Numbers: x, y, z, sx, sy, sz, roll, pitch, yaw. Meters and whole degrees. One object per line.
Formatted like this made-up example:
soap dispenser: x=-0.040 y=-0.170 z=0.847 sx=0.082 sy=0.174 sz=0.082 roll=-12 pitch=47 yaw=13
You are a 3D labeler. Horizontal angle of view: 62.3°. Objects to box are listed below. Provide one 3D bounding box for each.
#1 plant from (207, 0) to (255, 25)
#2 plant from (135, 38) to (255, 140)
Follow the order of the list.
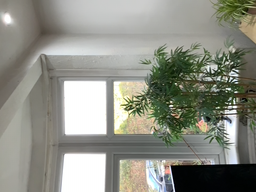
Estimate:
plant: x=0.770 y=-0.650 z=1.510 sx=0.250 sy=0.290 sz=0.210 roll=-91 pitch=0 yaw=-54
plant: x=0.860 y=-0.060 z=1.480 sx=0.390 sy=1.600 sz=0.590 roll=-90 pitch=0 yaw=-60
